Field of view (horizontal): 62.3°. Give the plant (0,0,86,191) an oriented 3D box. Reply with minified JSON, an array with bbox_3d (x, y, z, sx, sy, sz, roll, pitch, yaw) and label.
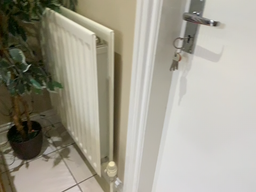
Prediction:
[{"bbox_3d":[-0.600,-0.110,1.000,0.550,1.120,0.540,-20,40,-32],"label":"plant"}]
